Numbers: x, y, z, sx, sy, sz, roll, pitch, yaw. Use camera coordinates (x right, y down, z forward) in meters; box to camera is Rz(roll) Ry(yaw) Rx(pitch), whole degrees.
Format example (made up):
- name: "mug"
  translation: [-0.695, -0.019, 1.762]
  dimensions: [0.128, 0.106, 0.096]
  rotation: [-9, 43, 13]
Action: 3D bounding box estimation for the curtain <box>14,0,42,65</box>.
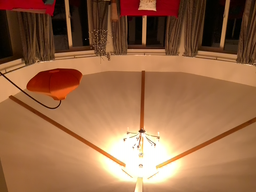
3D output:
- name: "curtain"
  translation: [-2.150, -1.430, 4.580]
  dimensions: [0.220, 1.470, 0.350]
  rotation: [2, -160, 5]
